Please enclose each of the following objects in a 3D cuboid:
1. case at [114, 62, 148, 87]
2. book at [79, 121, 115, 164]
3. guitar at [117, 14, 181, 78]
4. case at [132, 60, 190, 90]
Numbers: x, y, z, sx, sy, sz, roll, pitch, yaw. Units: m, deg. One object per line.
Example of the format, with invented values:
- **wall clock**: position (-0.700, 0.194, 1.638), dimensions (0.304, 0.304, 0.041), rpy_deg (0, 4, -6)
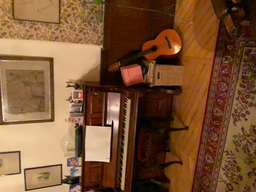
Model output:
- **case**: position (0.030, -0.280, 2.720), dimensions (0.400, 0.290, 0.280), rpy_deg (-152, 63, -66)
- **book**: position (-0.380, 0.580, 2.600), dimensions (0.050, 0.320, 0.520), rpy_deg (-144, 67, -64)
- **guitar**: position (0.300, -0.630, 2.780), dimensions (0.240, 0.810, 0.370), rpy_deg (-27, 39, 51)
- **case**: position (0.410, -0.290, 2.820), dimensions (0.600, 0.500, 0.320), rpy_deg (-152, 63, -66)
